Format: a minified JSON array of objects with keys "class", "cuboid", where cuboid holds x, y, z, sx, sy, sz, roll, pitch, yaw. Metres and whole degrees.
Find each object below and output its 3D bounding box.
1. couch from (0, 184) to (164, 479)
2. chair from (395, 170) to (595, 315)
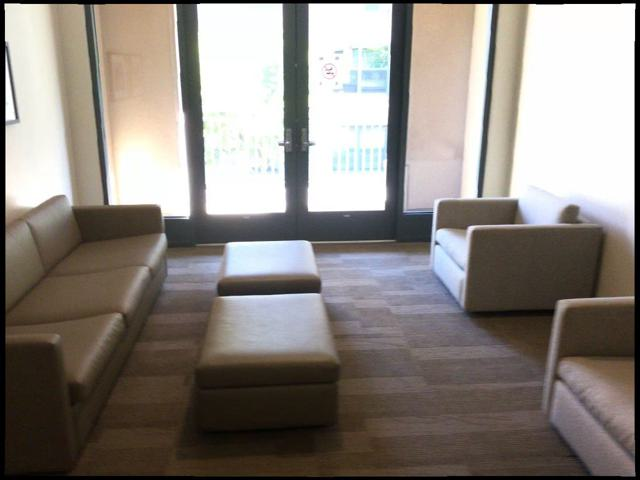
[{"class":"couch","cuboid":[-1.517,0.321,3.060,0.998,0.711,2.270,-2,19,-7]},{"class":"chair","cuboid":[1.168,-0.040,4.170,0.978,0.711,1.070,-1,19,-7]}]
